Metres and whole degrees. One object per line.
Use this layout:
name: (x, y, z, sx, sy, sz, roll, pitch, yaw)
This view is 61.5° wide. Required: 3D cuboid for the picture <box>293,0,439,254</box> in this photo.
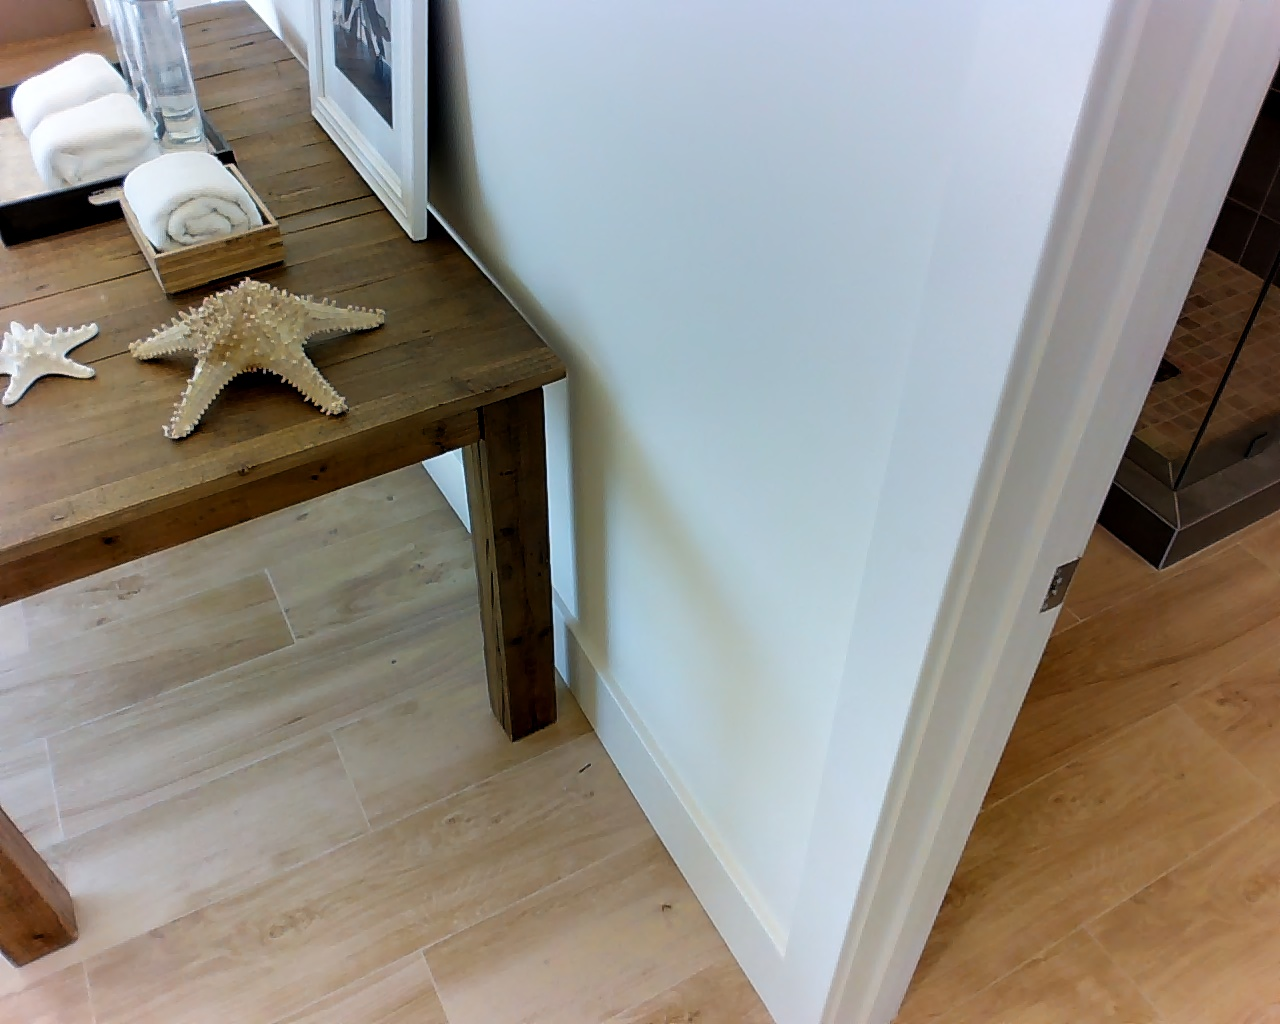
picture: (-0.410, -0.750, 1.540, 0.050, 0.590, 0.480, -17, 46, -26)
